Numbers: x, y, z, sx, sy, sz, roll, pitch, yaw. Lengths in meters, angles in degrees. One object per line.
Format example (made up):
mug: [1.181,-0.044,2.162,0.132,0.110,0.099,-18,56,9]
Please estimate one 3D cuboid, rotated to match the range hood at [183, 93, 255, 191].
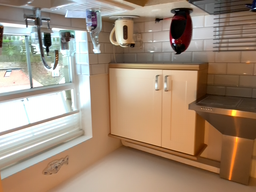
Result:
range hood: [0.800,0.370,1.650,0.560,0.680,0.470,7,-166,35]
